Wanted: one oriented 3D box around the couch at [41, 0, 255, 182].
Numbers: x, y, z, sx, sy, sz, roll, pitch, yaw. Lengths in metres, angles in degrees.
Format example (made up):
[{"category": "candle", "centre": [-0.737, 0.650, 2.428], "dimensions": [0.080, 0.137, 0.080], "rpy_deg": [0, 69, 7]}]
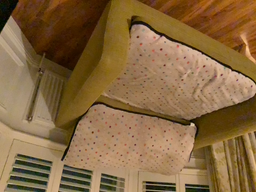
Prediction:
[{"category": "couch", "centre": [0.170, 0.030, 1.530], "dimensions": [1.150, 0.850, 1.030], "rpy_deg": [19, 146, -23]}]
